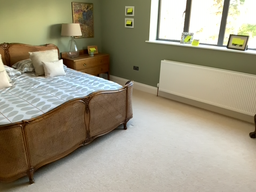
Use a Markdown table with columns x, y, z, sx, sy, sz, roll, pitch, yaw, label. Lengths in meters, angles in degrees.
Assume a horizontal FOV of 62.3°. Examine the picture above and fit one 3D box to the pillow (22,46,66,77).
| x | y | z | sx | sy | sz | roll | pitch | yaw | label |
| --- | --- | --- | --- | --- | --- | --- | --- | --- | --- |
| -1.390 | -0.590 | 3.530 | 0.520 | 0.360 | 0.460 | 21 | 29 | 39 | pillow |
